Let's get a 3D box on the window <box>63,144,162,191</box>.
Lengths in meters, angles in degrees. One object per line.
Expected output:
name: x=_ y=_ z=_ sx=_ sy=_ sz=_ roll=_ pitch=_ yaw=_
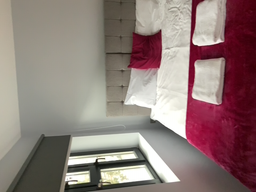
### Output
window: x=-0.230 y=0.900 z=2.630 sx=0.960 sy=1.020 sz=0.180 roll=-141 pitch=51 yaw=-75
